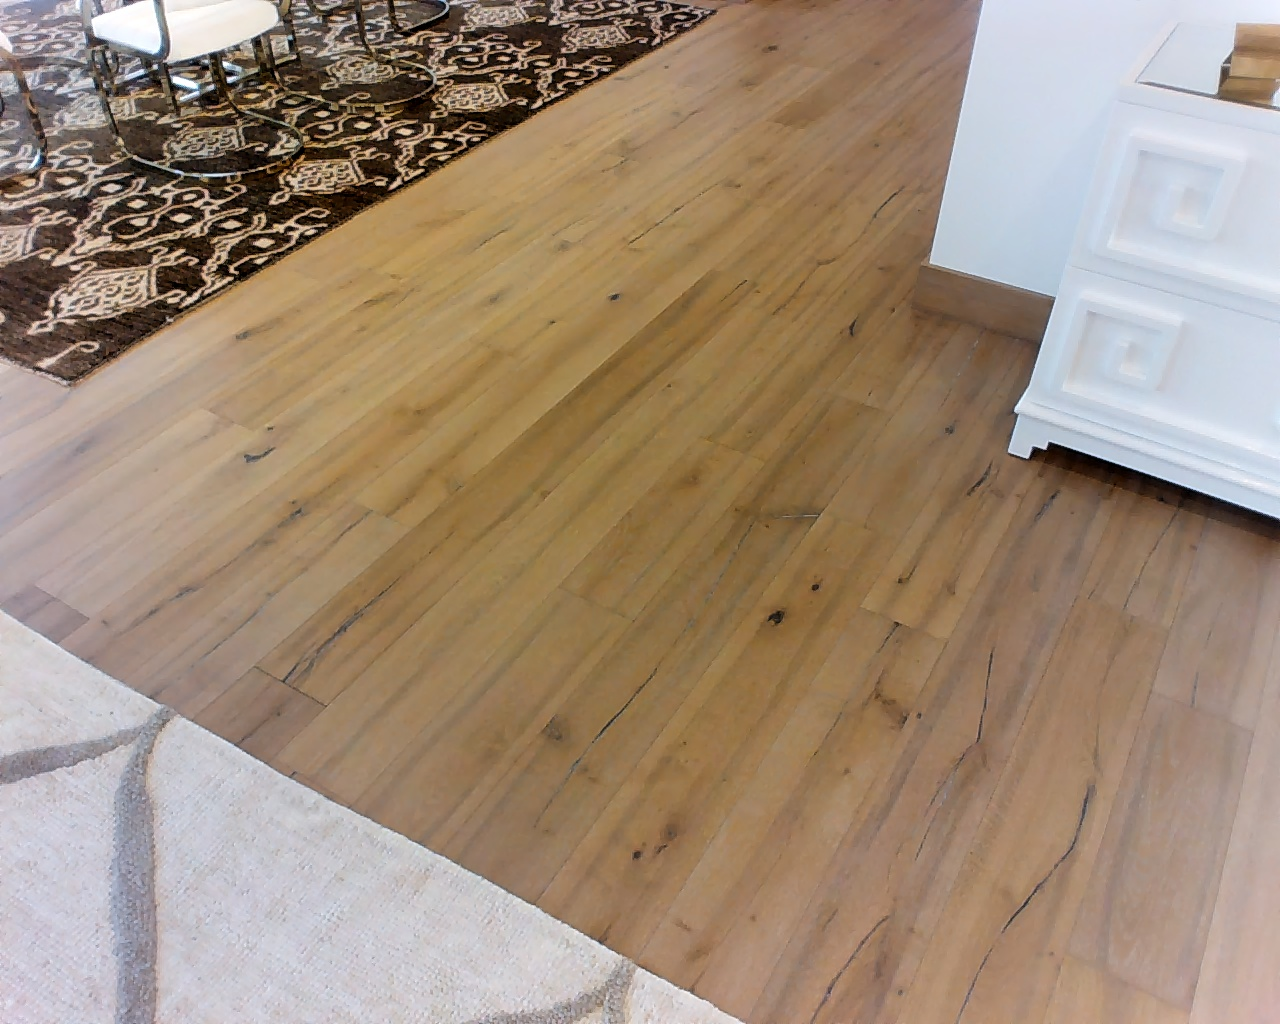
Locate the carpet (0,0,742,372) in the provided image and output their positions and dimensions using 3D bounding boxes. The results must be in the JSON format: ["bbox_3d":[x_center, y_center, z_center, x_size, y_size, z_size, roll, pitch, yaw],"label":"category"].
[{"bbox_3d":[-1.660,-1.920,4.420,2.710,0.110,3.750,23,46,23],"label":"carpet"}]
